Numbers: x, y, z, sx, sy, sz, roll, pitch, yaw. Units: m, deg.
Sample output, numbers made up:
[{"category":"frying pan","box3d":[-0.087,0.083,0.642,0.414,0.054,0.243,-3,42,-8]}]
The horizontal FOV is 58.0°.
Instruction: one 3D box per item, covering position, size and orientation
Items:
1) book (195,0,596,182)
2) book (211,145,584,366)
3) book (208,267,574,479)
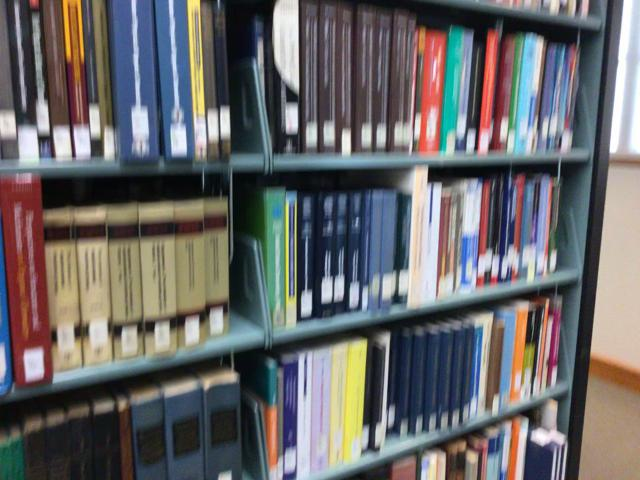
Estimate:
[{"category":"book","box3d":[0.220,-0.330,1.260,0.910,0.320,0.250,-10,12,-33]},{"category":"book","box3d":[0.230,-0.020,1.290,0.900,0.330,0.200,-10,12,-33]},{"category":"book","box3d":[0.220,0.310,1.350,0.910,0.320,0.220,-10,12,-33]}]
